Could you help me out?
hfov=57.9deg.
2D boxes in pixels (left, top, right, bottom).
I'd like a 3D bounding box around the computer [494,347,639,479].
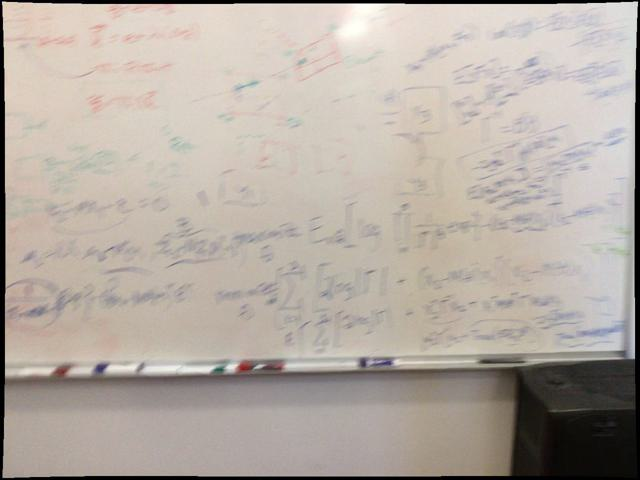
[{"bbox_3d":[0.869,0.631,1.660,0.619,0.551,0.320,-1,12,-3],"label":"computer"}]
